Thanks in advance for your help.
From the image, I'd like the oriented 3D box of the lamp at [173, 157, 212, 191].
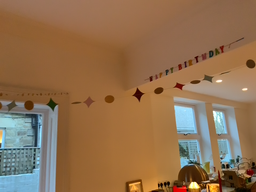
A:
[{"bbox_3d":[0.800,1.060,2.620,0.240,0.570,0.350,7,-17,-37],"label":"lamp"}]
